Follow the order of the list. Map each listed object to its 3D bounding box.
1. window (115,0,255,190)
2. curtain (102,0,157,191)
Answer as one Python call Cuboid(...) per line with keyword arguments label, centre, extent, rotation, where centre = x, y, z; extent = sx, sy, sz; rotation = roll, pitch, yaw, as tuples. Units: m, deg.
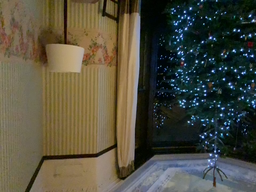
Cuboid(label="window", centre=(1.370, -0.200, 4.370), extent=(3.040, 3.590, 1.190), rotation=(1, -174, -12))
Cuboid(label="curtain", centre=(-0.010, -0.190, 3.360), extent=(0.530, 3.190, 0.650), rotation=(-1, -173, -26))
